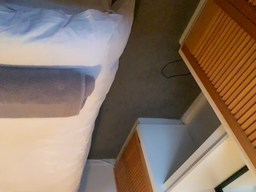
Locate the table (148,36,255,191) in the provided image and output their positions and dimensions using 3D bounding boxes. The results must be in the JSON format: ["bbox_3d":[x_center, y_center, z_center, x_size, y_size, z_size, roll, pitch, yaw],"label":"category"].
[{"bbox_3d":[0.630,0.180,1.630,0.490,0.770,0.910,3,136,-20],"label":"table"}]
